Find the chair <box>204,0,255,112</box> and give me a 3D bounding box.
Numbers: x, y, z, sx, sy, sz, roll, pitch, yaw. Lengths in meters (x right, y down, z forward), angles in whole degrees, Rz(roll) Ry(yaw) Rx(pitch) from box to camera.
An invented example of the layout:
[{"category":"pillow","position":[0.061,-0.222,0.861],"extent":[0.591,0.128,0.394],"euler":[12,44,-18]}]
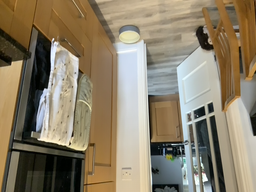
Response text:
[{"category":"chair","position":[0.860,-0.390,1.500],"extent":[0.480,0.910,0.370],"euler":[-5,161,12]}]
